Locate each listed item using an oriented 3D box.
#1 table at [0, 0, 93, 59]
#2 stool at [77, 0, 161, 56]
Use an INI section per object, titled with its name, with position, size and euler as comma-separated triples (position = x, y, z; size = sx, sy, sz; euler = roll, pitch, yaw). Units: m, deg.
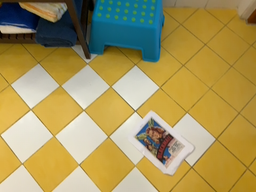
[table]
position = -0.630, -0.480, 1.050
size = 0.820, 0.500, 0.390
euler = 1, 72, -2
[stool]
position = -0.030, -0.460, 1.150
size = 0.380, 0.240, 0.360
euler = 7, 72, 0
